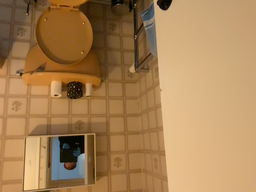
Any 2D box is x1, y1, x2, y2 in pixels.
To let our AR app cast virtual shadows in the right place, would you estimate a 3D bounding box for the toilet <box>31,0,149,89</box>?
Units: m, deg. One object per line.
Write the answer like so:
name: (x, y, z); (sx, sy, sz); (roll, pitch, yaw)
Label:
toilet: (-0.310, -0.610, 1.530); (0.610, 0.970, 0.710); (1, 168, -19)
